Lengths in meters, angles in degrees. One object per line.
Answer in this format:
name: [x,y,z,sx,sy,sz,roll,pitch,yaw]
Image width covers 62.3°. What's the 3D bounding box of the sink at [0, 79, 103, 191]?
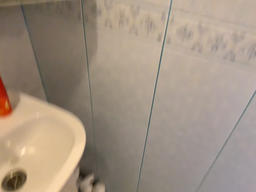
sink: [-0.320,0.180,0.550,0.340,0.150,0.420,20,45,16]
